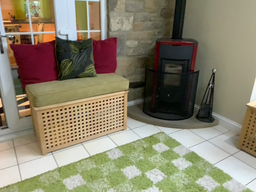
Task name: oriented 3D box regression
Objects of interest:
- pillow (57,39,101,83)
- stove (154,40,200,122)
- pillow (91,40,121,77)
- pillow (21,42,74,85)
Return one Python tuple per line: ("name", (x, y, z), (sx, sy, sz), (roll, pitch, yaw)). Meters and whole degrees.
("pillow", (-0.520, -0.380, 2.280), (0.390, 0.430, 0.140), (-11, 11, -29))
("stove", (0.630, -0.210, 2.760), (0.440, 0.940, 0.440), (8, 23, 15))
("pillow", (-0.260, -0.450, 2.520), (0.310, 0.400, 0.130), (-11, 25, -29))
("pillow", (-0.810, -0.340, 2.160), (0.430, 0.390, 0.150), (-11, 16, -29))
